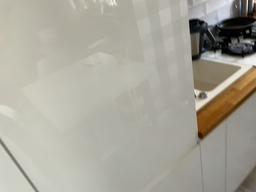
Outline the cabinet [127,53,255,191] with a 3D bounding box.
[{"bbox_3d":[0.510,0.260,1.470,0.660,0.830,0.570,-32,34,-26],"label":"cabinet"}]
